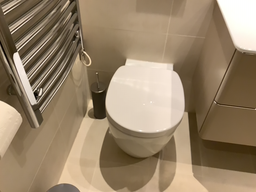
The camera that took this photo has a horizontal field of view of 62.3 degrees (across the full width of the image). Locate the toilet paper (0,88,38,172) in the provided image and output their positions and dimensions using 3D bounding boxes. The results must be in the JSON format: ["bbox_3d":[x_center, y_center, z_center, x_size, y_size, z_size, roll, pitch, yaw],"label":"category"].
[{"bbox_3d":[-0.300,0.080,0.500,0.090,0.160,0.120,6,45,2],"label":"toilet paper"}]

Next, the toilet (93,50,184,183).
[{"bbox_3d":[0.070,0.100,1.200,0.370,0.450,0.540,8,45,4],"label":"toilet"}]
